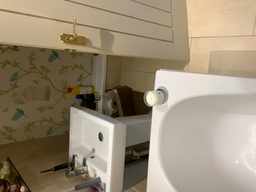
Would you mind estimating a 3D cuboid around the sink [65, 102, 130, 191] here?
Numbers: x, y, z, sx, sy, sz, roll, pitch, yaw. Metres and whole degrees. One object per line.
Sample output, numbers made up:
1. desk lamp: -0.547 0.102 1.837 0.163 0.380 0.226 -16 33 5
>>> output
1. sink: -0.230 0.300 1.400 0.530 0.140 0.430 14 104 47
